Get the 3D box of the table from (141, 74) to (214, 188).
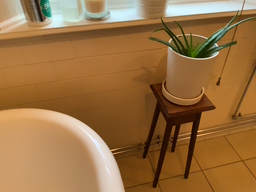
[{"bbox_3d":[0.230,0.220,1.180,0.230,0.630,0.230,-11,41,-13],"label":"table"}]
